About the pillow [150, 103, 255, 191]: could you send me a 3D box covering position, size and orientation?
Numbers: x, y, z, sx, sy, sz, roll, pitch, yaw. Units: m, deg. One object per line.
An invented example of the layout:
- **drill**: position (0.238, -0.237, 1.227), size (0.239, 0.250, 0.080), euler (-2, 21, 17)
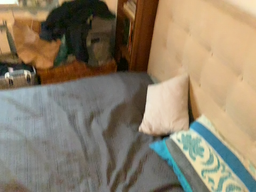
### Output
- **pillow**: position (0.340, 0.350, 1.000), size (0.160, 0.380, 0.520), euler (13, 60, -41)

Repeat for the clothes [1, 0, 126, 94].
- **clothes**: position (-0.530, -0.530, 1.880), size (0.860, 0.790, 0.430), euler (-11, 44, -21)

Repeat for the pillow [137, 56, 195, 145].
- **pillow**: position (0.230, 0.030, 1.360), size (0.140, 0.350, 0.440), euler (27, 47, -19)
